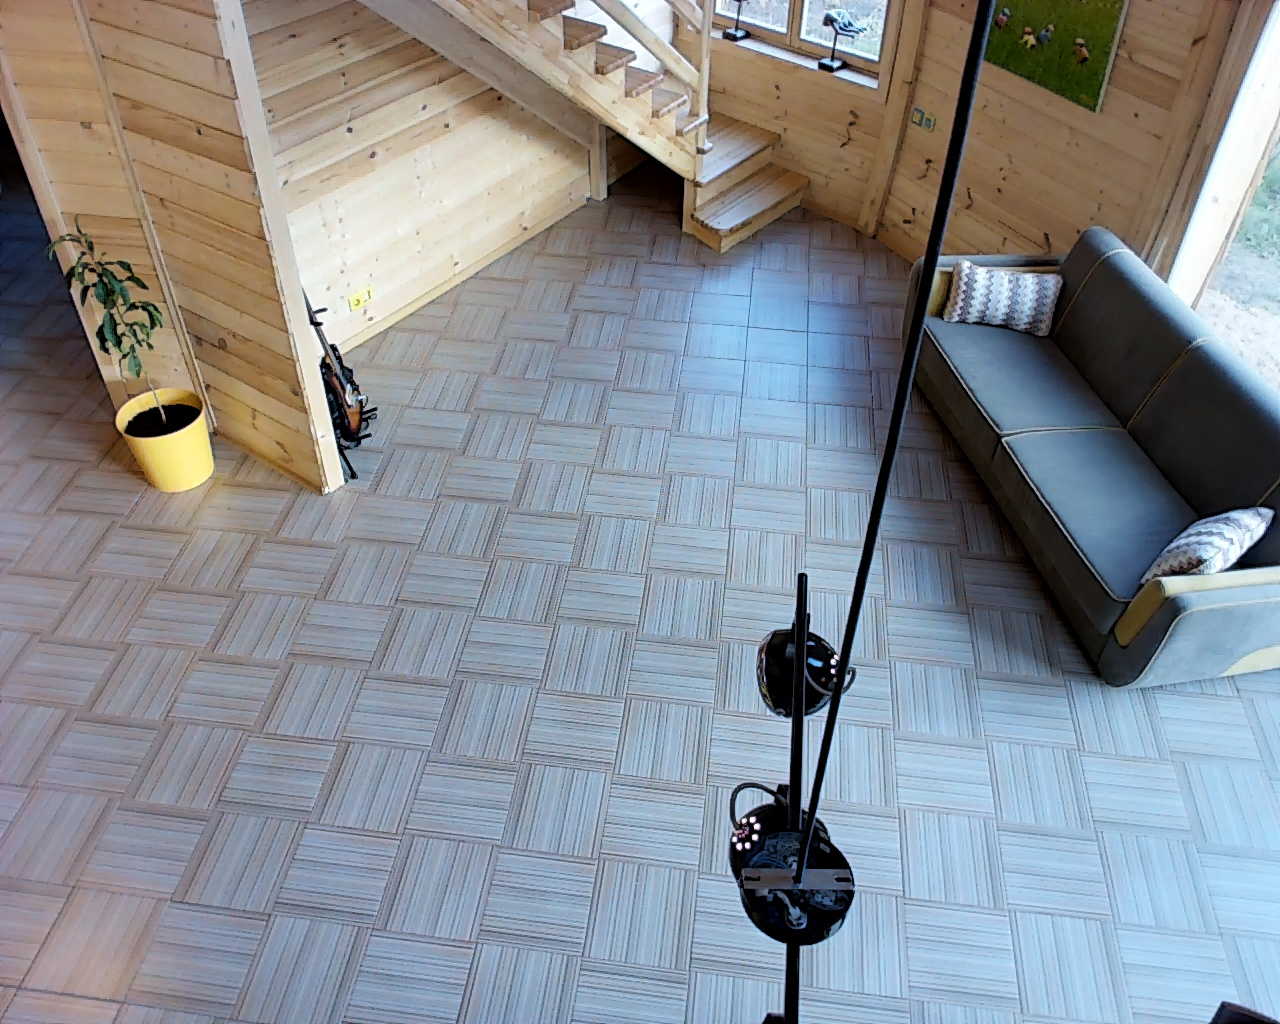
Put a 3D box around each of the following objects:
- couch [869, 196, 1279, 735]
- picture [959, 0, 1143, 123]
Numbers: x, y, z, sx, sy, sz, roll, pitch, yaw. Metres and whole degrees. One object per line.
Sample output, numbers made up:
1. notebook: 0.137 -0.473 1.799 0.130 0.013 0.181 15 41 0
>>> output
1. couch: 2.020 -0.380 4.710 1.080 0.850 2.510 -7 43 -9
2. picture: 1.990 -2.440 5.240 0.110 0.740 0.930 -20 46 -21
